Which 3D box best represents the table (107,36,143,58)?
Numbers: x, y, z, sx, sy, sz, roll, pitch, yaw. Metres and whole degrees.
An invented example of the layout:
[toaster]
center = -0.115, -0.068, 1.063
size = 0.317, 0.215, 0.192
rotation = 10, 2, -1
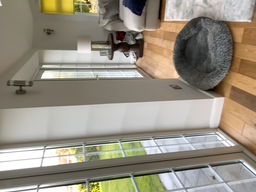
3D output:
[table]
center = -0.070, -1.010, 4.370
size = 0.400, 0.640, 0.400
rotation = -129, 39, -66
